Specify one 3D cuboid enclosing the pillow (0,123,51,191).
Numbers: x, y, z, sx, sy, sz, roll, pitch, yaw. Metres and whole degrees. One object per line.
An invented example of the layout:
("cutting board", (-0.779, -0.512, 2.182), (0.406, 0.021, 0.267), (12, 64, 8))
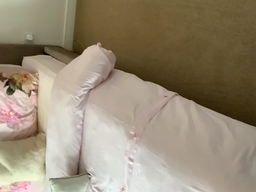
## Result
("pillow", (-0.880, 0.510, 1.740), (0.270, 0.350, 0.440), (30, 117, 36))
